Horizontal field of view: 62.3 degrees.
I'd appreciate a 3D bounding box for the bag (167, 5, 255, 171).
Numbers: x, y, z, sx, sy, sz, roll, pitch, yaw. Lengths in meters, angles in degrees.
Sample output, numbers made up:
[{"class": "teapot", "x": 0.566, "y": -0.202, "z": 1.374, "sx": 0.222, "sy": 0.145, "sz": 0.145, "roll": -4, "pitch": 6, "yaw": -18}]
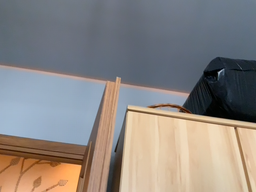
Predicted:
[{"class": "bag", "x": 0.560, "y": 0.010, "z": 1.200, "sx": 0.460, "sy": 0.560, "sz": 0.700, "roll": 10, "pitch": -36, "yaw": -5}]
